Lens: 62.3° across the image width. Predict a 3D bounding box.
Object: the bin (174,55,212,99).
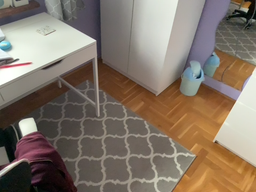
[{"bbox_3d":[0.670,-0.200,2.190,0.230,0.280,0.300,26,47,19],"label":"bin"}]
